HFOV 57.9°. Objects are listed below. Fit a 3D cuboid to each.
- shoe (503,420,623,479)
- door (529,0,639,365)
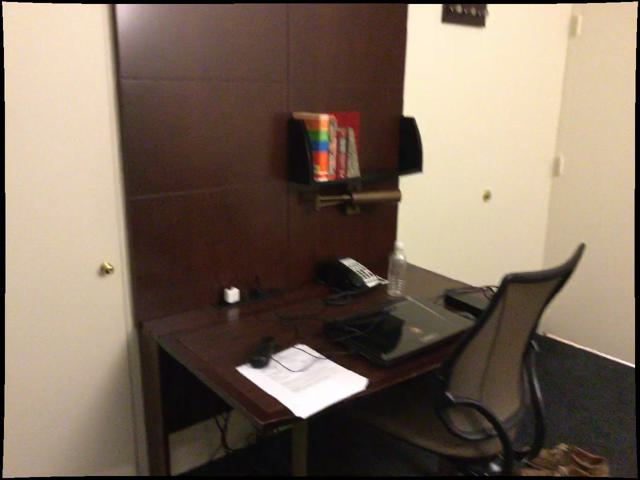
[{"bbox_3d":[0.949,0.881,2.250,0.370,0.090,0.340,12,19,30],"label":"shoe"},{"bbox_3d":[1.708,-0.390,3.000,0.130,2.122,1.000,-12,21,-38],"label":"door"}]
